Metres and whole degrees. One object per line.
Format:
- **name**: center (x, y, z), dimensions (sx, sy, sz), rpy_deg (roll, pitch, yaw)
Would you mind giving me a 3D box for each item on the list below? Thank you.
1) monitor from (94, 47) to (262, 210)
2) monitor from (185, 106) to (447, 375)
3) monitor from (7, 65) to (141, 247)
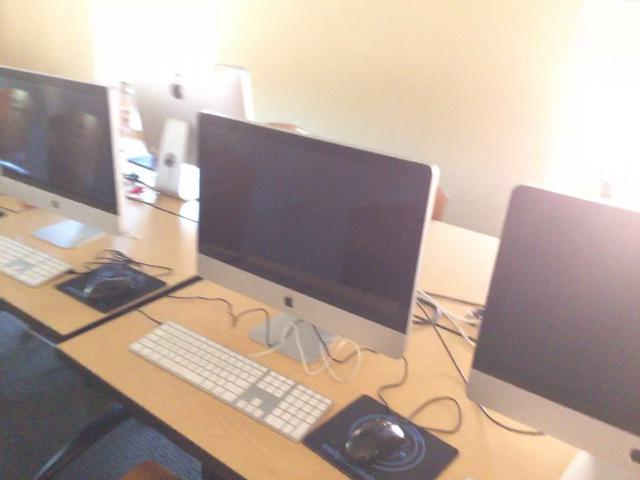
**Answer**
- **monitor**: center (-0.460, -0.380, 1.870), dimensions (0.560, 0.420, 0.170), rpy_deg (17, 26, 31)
- **monitor**: center (-0.040, -0.020, 1.120), dimensions (0.530, 0.400, 0.070), rpy_deg (17, 26, 31)
- **monitor**: center (-0.620, -0.220, 1.460), dimensions (0.350, 0.390, 0.090), rpy_deg (17, 26, 31)
